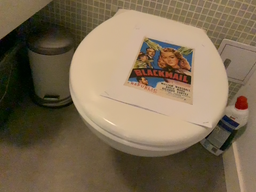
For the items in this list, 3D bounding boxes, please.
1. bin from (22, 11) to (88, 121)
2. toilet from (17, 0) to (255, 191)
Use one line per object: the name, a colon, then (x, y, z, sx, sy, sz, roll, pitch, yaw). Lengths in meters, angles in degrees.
bin: (-0.280, -0.110, 0.880, 0.140, 0.380, 0.210, 17, 44, 3)
toilet: (0.030, 0.020, 0.670, 0.380, 0.430, 0.550, 15, 44, 2)
